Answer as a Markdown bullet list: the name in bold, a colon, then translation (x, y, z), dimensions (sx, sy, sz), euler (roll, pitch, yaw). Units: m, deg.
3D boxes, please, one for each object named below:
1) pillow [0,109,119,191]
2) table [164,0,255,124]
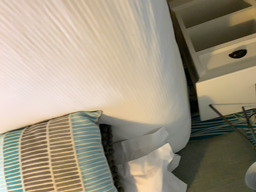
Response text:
- **pillow**: translation (-0.270, 0.270, 0.730), dimensions (0.410, 0.350, 0.130), euler (-17, 172, 12)
- **table**: translation (0.550, -0.260, 1.240), dimensions (0.450, 0.620, 0.490), euler (-17, 148, 13)
